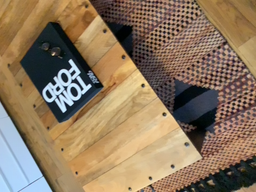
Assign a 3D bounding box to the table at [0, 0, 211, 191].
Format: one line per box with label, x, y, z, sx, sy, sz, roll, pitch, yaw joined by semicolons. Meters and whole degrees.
table;-0.250;-0.130;1.150;0.660;0.330;1.310;-38;83;26
